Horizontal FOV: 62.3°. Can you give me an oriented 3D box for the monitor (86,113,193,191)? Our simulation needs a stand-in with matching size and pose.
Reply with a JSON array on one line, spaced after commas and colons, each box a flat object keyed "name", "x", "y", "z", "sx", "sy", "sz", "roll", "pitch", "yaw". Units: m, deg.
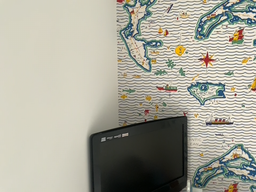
[{"name": "monitor", "x": 0.080, "y": 0.270, "z": 0.820, "sx": 0.500, "sy": 0.350, "sz": 0.040, "roll": -5, "pitch": 7, "yaw": -37}]
